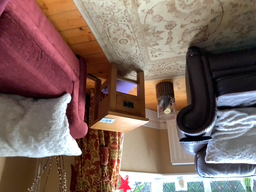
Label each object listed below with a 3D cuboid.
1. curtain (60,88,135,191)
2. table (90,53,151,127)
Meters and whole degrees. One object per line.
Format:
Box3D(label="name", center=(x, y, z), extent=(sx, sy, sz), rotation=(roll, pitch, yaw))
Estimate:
Box3D(label="curtain", center=(-0.270, 1.170, 1.950), extent=(0.610, 2.500, 0.420), rotation=(-8, 154, 14))
Box3D(label="table", center=(-0.080, -0.030, 1.880), extent=(0.390, 0.480, 0.380), rotation=(10, 152, -23))
